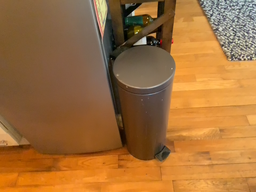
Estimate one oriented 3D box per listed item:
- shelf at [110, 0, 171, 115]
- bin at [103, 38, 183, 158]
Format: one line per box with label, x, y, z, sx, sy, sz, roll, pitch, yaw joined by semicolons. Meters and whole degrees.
shelf;0.070;-0.260;1.250;0.240;0.840;0.320;-3;51;2
bin;0.070;0.070;1.090;0.280;0.710;0.210;-3;51;2
